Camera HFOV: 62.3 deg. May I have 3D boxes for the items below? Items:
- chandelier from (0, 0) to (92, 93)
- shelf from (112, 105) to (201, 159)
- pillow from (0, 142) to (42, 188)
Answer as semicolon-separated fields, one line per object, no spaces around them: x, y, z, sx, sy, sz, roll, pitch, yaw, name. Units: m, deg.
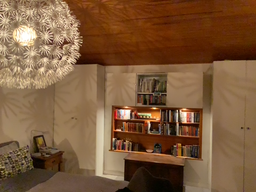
-0.870;-0.560;1.840;0.820;1.050;0.910;1;0;11;chandelier
0.570;0.720;4.500;1.840;1.010;0.220;1;0;15;shelf
-1.670;0.970;3.110;0.450;0.420;0.650;1;0;18;pillow
